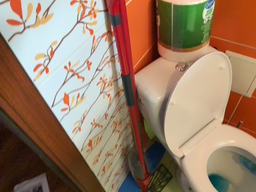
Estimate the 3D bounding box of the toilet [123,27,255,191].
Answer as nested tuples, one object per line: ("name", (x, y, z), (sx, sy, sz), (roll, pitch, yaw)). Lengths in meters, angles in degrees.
("toilet", (0.380, 0.250, 0.950), (0.380, 0.780, 0.680), (-35, 56, -19))
